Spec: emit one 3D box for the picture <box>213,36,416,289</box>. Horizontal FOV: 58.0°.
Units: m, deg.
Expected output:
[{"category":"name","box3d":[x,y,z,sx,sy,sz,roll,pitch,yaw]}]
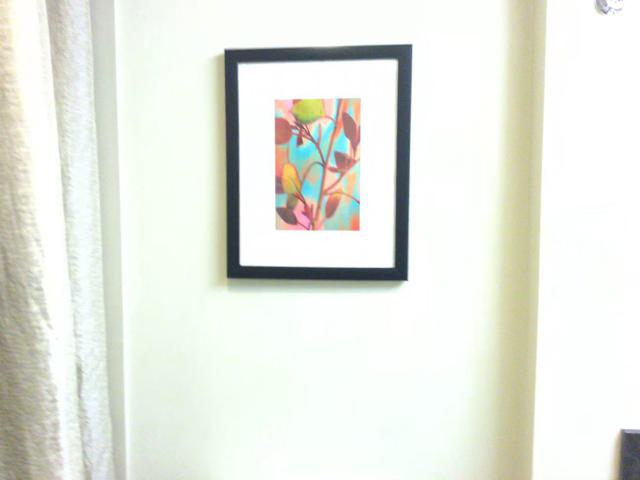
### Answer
[{"category":"picture","box3d":[-0.010,-0.160,1.260,0.430,0.530,0.040,0,4,6]}]
